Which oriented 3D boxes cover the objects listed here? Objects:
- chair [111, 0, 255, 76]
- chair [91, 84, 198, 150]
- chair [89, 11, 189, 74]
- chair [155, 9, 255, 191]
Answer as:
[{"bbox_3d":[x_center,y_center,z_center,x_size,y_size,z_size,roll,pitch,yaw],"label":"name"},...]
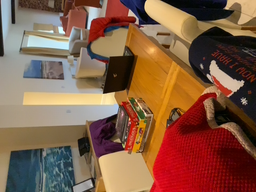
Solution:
[{"bbox_3d":[0.490,-0.550,1.740,0.450,1.090,0.560,-118,37,-49],"label":"chair"},{"bbox_3d":[0.170,0.230,2.510,0.450,1.060,0.560,-121,38,-51],"label":"chair"},{"bbox_3d":[0.110,-0.660,2.690,0.560,1.060,0.450,-114,34,-46],"label":"chair"},{"bbox_3d":[0.780,0.040,0.990,0.450,1.100,0.560,-118,37,-49],"label":"chair"}]
